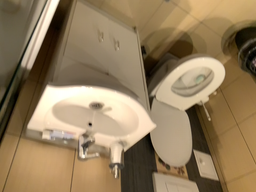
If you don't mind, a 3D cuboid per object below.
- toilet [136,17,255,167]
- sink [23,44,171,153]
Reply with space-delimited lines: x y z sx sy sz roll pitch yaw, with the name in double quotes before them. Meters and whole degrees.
"toilet" 0.400 -0.040 1.470 0.380 0.830 0.520 21 132 -27
"sink" -0.140 0.060 0.960 0.510 0.130 0.400 21 132 -27
